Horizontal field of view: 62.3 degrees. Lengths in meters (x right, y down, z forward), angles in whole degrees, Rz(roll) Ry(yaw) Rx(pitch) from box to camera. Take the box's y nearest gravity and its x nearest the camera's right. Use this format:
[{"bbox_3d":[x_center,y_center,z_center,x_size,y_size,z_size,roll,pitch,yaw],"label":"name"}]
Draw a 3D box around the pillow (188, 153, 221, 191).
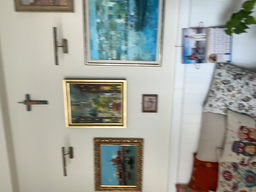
[{"bbox_3d":[0.730,0.750,2.060,0.200,0.220,0.310,-89,0,-76],"label":"pillow"}]
